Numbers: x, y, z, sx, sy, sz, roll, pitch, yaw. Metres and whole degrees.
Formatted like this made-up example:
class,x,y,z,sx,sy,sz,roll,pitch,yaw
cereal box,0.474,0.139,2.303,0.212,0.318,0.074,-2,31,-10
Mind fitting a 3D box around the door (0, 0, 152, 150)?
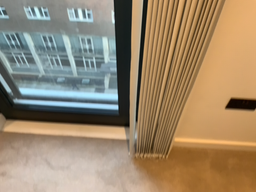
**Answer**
class,x,y,z,sx,sy,sz,roll,pitch,yaw
door,-0.470,-0.490,0.660,1.110,2.430,0.240,4,52,2
